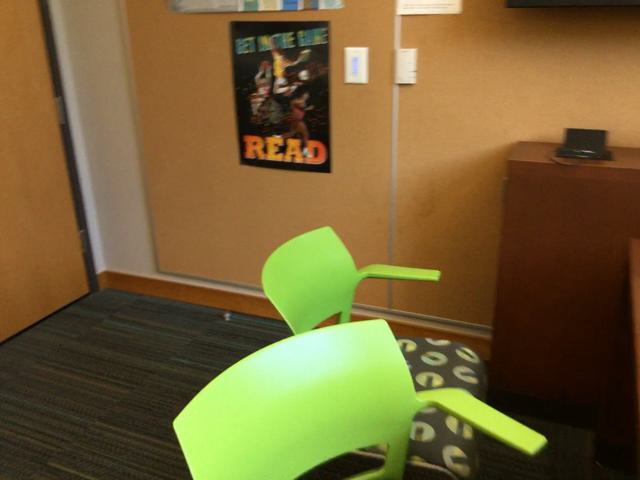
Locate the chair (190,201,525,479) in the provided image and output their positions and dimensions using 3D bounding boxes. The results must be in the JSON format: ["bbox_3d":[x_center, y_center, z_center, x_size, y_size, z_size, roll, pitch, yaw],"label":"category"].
[{"bbox_3d":[0.140,0.400,1.490,0.600,0.830,0.630,7,20,24],"label":"chair"}]

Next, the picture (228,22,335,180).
[{"bbox_3d":[-0.150,-0.550,2.300,0.420,0.580,0.080,7,20,23],"label":"picture"}]

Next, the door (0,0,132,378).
[{"bbox_3d":[-1.290,-0.230,2.330,0.250,1.460,1.000,8,20,24],"label":"door"}]
